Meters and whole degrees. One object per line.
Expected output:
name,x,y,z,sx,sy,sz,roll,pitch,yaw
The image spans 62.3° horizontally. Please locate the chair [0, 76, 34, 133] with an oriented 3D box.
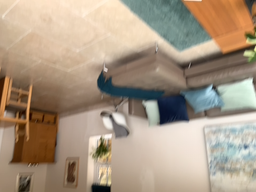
chair,-2.060,0.170,3.770,0.450,0.880,0.460,-12,160,34
